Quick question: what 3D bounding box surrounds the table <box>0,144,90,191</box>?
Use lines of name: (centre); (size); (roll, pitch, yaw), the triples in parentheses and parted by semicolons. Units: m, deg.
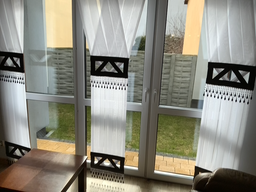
table: (-0.830, 0.870, 2.090); (0.680, 0.410, 0.700); (5, 15, 11)
